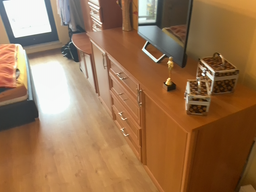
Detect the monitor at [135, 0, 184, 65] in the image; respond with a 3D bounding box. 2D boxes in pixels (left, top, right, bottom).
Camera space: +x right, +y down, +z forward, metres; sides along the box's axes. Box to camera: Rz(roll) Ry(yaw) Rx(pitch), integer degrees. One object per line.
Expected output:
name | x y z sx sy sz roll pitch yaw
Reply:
monitor | 0.190 -0.550 1.500 0.070 0.460 0.600 -13 34 -14
